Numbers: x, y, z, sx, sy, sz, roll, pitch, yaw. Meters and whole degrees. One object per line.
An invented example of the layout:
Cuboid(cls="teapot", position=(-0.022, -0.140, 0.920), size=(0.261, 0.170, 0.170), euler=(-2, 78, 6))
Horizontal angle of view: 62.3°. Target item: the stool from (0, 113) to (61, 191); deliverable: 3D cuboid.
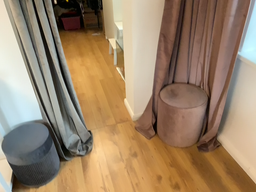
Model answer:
Cuboid(cls="stool", position=(-0.700, 0.410, 1.550), size=(0.320, 0.400, 0.330), euler=(-11, 36, -12))

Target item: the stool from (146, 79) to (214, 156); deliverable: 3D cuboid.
Cuboid(cls="stool", position=(0.400, 0.170, 1.790), size=(0.390, 0.440, 0.370), euler=(-11, 36, -12))
